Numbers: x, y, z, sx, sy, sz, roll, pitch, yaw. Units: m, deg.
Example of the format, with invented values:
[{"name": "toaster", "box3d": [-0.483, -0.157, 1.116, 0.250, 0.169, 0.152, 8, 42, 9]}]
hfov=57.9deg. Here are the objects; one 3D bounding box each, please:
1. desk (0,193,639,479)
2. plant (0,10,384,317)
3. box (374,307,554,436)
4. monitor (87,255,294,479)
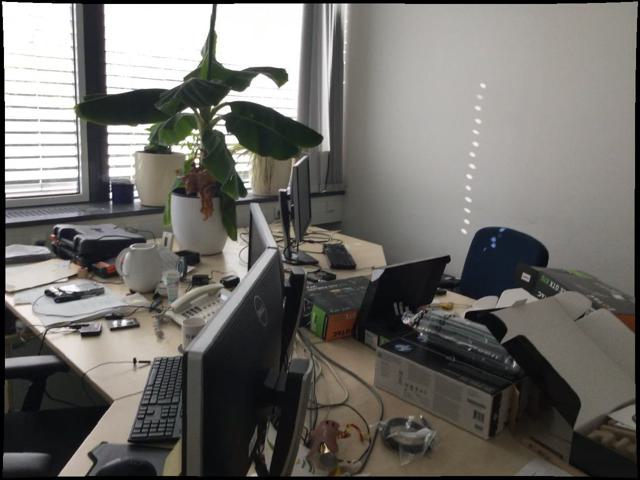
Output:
[{"name": "desk", "box3d": [-0.140, 0.571, 2.290, 2.549, 0.751, 2.909, -14, 22, -42]}, {"name": "plant", "box3d": [-0.609, -0.470, 2.850, 1.469, 1.051, 1.100, -14, 22, -42]}, {"name": "box", "box3d": [0.400, 0.350, 1.640, 0.290, 0.140, 0.390, -14, 22, -42]}, {"name": "monitor", "box3d": [-0.170, 0.330, 0.990, 0.180, 0.470, 0.510, 3, 16, 5]}]
